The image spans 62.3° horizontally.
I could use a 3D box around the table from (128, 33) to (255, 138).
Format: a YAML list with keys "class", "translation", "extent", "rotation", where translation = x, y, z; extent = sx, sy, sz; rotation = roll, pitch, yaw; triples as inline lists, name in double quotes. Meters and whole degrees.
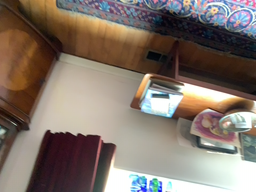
- class: "table"
  translation: [0.700, -0.050, 1.830]
  extent: [1.290, 0.440, 0.480]
  rotation: [13, 144, -7]

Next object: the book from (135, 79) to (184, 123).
- class: "book"
  translation: [0.220, 0.050, 1.570]
  extent: [0.290, 0.120, 0.340]
  rotation: [8, 145, 0]
